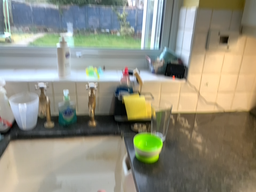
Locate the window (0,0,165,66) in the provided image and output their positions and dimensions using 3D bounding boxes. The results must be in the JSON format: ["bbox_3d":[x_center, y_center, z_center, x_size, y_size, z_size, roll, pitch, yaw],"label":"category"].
[{"bbox_3d":[-0.300,-0.670,1.150,1.060,1.010,0.040,-1,22,-9],"label":"window"}]
